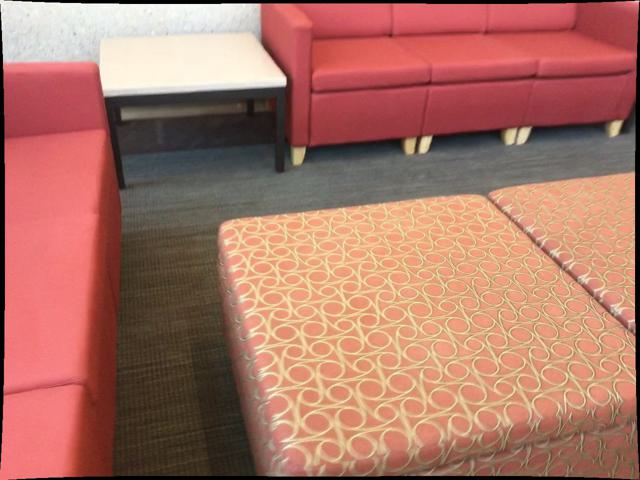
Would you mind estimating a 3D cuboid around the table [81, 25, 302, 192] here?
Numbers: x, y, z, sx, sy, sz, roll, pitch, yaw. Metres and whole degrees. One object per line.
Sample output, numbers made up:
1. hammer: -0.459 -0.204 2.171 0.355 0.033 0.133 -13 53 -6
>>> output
1. table: -0.619 -0.681 2.770 0.859 0.440 0.920 -6 35 -14
